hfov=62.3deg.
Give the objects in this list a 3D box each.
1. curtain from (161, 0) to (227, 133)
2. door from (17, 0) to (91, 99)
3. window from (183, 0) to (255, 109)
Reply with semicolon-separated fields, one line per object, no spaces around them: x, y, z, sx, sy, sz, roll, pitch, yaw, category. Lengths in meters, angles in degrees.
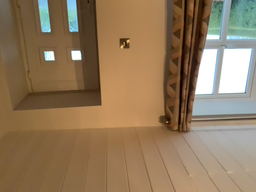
0.540;-0.600;1.740;0.400;1.870;0.220;-3;-161;-7;curtain
-0.800;-0.910;2.260;0.690;1.950;0.030;-2;-162;-6;door
1.170;-0.630;2.430;0.940;1.590;0.100;-2;-161;-7;window
